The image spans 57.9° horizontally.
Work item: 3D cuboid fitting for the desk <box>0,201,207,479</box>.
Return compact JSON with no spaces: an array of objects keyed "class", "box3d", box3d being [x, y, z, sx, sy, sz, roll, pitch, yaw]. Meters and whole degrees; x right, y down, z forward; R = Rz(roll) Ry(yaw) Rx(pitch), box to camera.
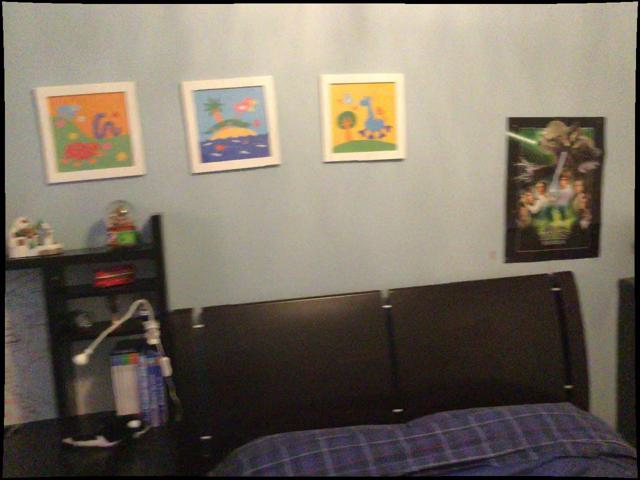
[{"class":"desk","box3d":[-0.909,0.641,1.610,1.129,1.371,0.600,-5,9,-11]}]
